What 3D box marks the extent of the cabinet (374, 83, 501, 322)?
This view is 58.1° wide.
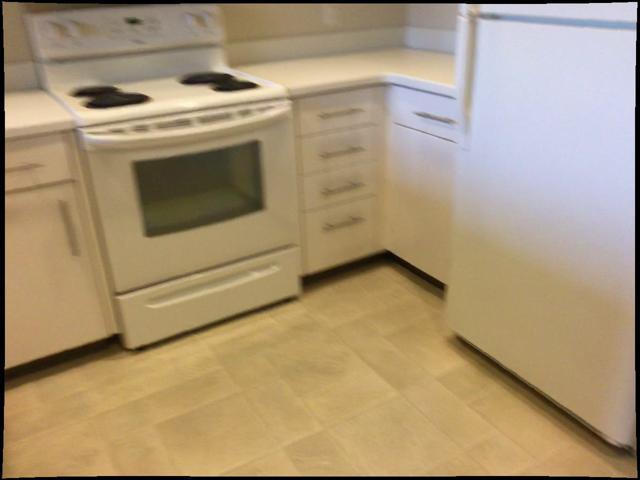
[{"bbox_3d":[0.449,-0.170,2.410,0.090,0.862,0.600,-17,29,-28],"label":"cabinet"}]

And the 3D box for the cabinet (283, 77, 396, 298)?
[{"bbox_3d":[0.100,-0.221,2.520,0.489,0.892,0.090,-17,29,-28],"label":"cabinet"}]

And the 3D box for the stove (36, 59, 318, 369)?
[{"bbox_3d":[-0.569,-0.180,2.420,0.839,0.952,0.720,-17,29,-28],"label":"stove"}]

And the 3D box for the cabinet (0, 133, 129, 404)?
[{"bbox_3d":[-0.997,0.110,1.950,0.509,0.842,0.150,-17,29,-28],"label":"cabinet"}]
